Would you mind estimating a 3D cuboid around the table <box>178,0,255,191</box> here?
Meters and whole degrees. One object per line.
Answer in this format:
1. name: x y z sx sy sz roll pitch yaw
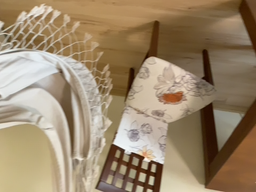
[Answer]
1. table: 0.890 0.110 1.280 0.950 0.780 0.970 9 138 4
